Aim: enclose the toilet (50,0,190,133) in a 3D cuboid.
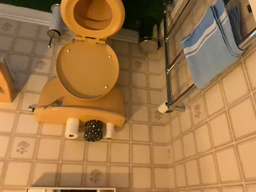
[{"bbox_3d":[-0.110,-0.340,1.410,0.610,0.970,0.710,7,154,-15],"label":"toilet"}]
